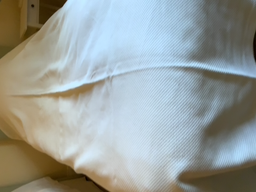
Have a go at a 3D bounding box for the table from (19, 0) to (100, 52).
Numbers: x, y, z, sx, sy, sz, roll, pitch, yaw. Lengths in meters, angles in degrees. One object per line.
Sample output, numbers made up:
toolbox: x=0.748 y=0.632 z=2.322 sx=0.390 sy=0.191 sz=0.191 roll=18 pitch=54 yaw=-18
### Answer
table: x=-0.730 y=-0.820 z=2.250 sx=0.470 sy=0.710 sz=0.530 roll=-4 pitch=87 yaw=55
